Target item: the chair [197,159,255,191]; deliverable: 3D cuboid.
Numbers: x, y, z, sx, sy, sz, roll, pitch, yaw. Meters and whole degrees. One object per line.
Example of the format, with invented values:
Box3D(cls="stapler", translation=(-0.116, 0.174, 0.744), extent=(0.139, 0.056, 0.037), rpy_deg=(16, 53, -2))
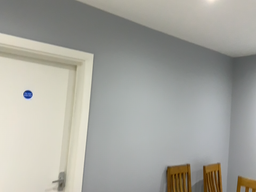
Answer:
Box3D(cls="chair", translation=(1.170, 1.340, 2.570), extent=(0.440, 1.000, 0.490), rpy_deg=(6, -3, -33))
